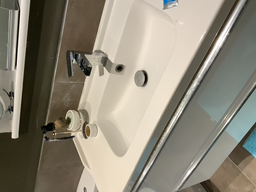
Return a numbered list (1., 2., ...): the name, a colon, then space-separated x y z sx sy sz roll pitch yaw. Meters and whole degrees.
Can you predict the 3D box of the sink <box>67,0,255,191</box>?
1. sink: 0.020 -0.010 0.800 0.450 0.190 1.020 53 132 41
